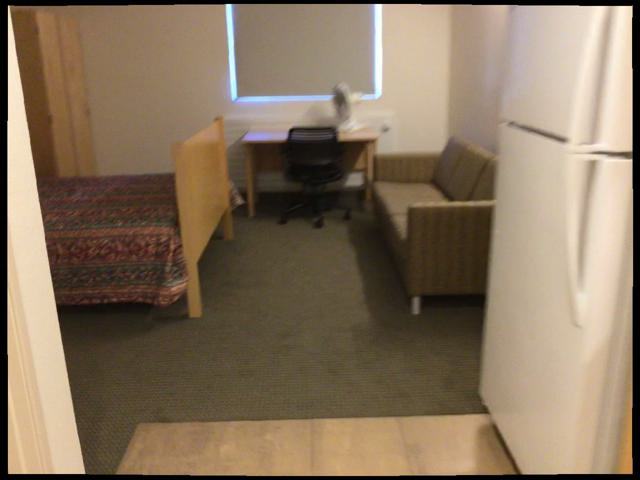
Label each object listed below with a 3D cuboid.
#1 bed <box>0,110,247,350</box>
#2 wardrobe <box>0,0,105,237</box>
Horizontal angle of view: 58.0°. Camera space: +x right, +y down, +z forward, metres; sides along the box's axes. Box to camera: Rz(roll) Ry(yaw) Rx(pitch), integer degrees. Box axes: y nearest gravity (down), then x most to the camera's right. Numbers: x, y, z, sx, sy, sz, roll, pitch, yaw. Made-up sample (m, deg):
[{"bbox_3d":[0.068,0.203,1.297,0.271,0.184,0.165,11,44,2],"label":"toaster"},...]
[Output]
[{"bbox_3d":[-1.787,-0.190,3.830,2.336,1.022,1.900,-3,18,-1],"label":"bed"},{"bbox_3d":[-2.685,-1.102,5.270,0.808,1.923,0.970,-3,18,-1],"label":"wardrobe"}]
